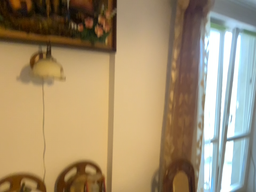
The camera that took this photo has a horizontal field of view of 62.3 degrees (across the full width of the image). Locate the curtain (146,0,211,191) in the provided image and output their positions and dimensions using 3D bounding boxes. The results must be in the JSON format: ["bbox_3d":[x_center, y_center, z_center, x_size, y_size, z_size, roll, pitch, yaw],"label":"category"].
[{"bbox_3d":[0.420,0.310,1.850,0.430,2.850,0.250,-1,4,-32],"label":"curtain"}]
